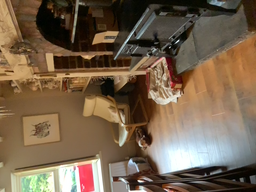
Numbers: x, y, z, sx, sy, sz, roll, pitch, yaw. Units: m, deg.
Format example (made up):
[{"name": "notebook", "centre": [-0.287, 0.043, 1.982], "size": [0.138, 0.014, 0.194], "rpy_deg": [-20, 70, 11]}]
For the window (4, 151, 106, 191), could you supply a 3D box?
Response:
[{"name": "window", "centre": [-1.290, 1.820, 3.950], "size": [0.400, 1.690, 1.300], "rpy_deg": [145, 119, -68]}]
